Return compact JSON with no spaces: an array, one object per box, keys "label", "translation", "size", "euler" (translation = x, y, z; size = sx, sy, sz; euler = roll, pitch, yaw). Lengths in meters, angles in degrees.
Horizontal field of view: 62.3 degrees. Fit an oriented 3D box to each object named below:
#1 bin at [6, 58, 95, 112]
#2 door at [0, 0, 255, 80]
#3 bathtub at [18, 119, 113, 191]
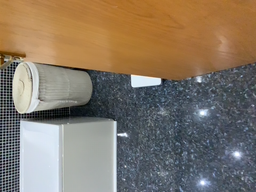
[{"label":"bin","translation":[-0.700,-0.070,1.930],"size":[0.480,0.610,0.400],"euler":[-3,88,44]},{"label":"door","translation":[-0.160,-0.160,0.430],"size":[0.730,2.030,0.030],"euler":[-6,85,44]},{"label":"bathtub","translation":[-0.560,1.060,1.840],"size":[0.720,0.510,1.670],"euler":[-3,86,45]}]
